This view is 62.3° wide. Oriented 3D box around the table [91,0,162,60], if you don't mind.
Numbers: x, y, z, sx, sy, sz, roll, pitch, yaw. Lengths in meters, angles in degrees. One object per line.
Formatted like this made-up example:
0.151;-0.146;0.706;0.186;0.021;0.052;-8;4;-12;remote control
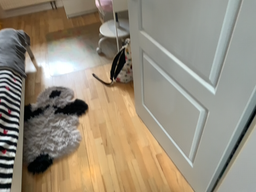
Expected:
-0.080;-1.100;2.520;0.550;0.790;1.040;-16;47;-10;table
